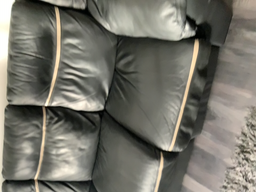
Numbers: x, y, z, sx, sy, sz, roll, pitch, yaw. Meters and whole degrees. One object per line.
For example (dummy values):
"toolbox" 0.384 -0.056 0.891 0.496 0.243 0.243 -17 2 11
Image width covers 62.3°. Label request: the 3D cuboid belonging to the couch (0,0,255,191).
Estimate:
"couch" -0.230 0.420 1.480 1.020 0.950 2.360 27 113 42
